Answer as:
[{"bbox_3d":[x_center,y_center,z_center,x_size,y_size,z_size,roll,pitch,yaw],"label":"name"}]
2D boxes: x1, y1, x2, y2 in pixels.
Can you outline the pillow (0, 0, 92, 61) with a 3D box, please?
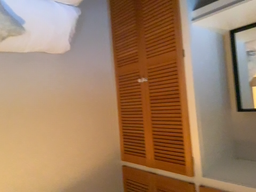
[{"bbox_3d":[-0.570,-0.420,1.340,0.540,0.370,0.190,-4,131,-45],"label":"pillow"}]
